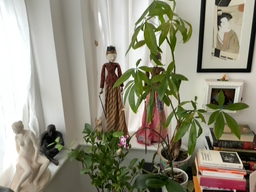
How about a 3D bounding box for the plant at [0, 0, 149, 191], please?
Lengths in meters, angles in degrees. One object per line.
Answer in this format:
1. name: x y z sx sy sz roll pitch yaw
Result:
1. plant: -0.140 0.430 1.160 0.450 1.700 0.560 2 17 11
